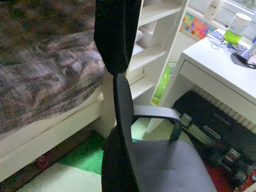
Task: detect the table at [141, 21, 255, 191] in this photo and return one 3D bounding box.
[{"bbox_3d":[0.640,0.070,1.440,0.740,0.740,0.590,39,49,21],"label":"table"}]
